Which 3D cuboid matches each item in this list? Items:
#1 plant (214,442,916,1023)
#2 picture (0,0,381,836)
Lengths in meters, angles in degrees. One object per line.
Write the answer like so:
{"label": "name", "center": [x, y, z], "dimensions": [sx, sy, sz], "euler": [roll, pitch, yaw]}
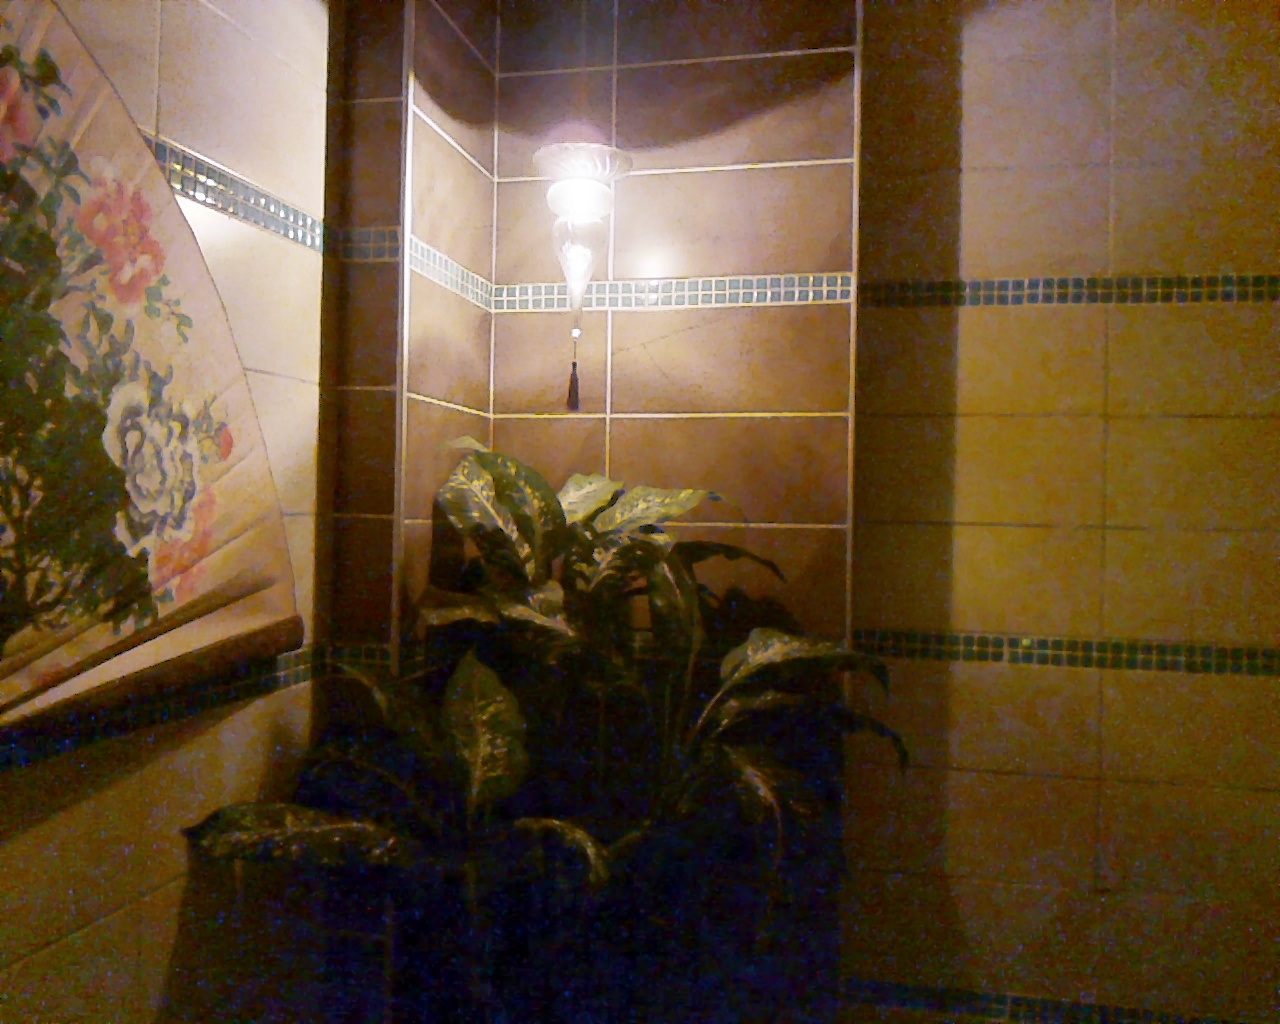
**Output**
{"label": "plant", "center": [-0.040, 0.750, 1.670], "dimensions": [0.880, 1.660, 0.760], "euler": [1, -1, 14]}
{"label": "picture", "center": [-0.670, -0.160, 0.760], "dimensions": [0.080, 0.900, 1.840], "euler": [1, -1, 14]}
